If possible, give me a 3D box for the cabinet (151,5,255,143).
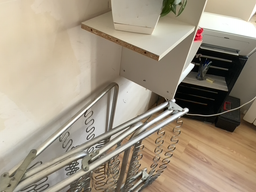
[{"bbox_3d":[0.520,-0.120,1.630,0.460,0.940,0.330,15,40,6],"label":"cabinet"}]
